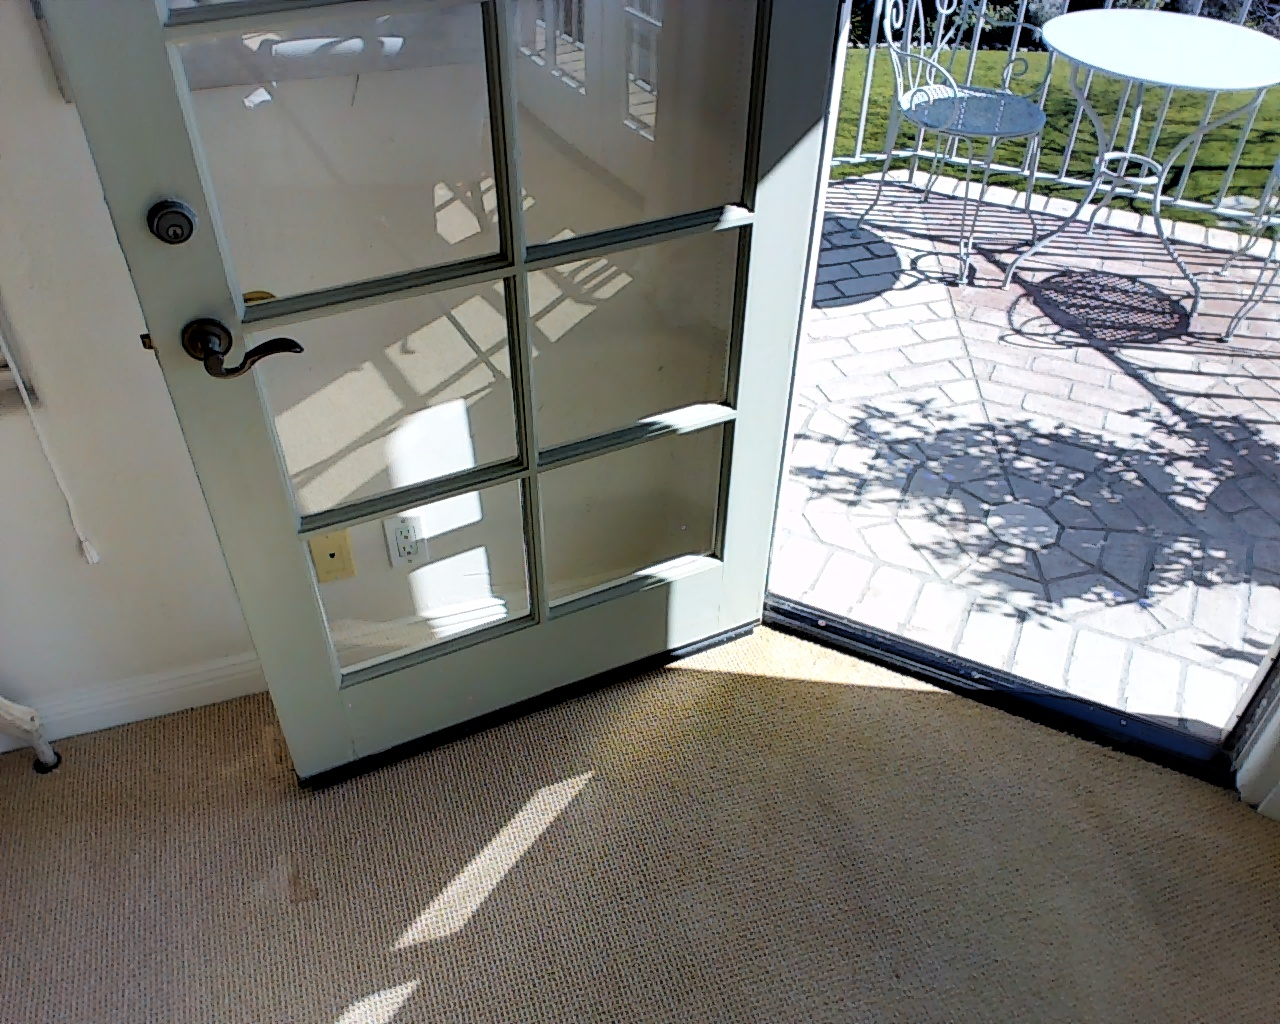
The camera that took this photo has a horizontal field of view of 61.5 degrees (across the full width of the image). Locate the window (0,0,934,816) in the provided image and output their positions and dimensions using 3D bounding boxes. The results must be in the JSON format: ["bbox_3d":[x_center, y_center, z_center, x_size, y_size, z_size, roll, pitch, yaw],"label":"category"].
[{"bbox_3d":[-0.180,-0.470,1.370,1.020,2.110,0.290,-12,43,-14],"label":"window"}]
